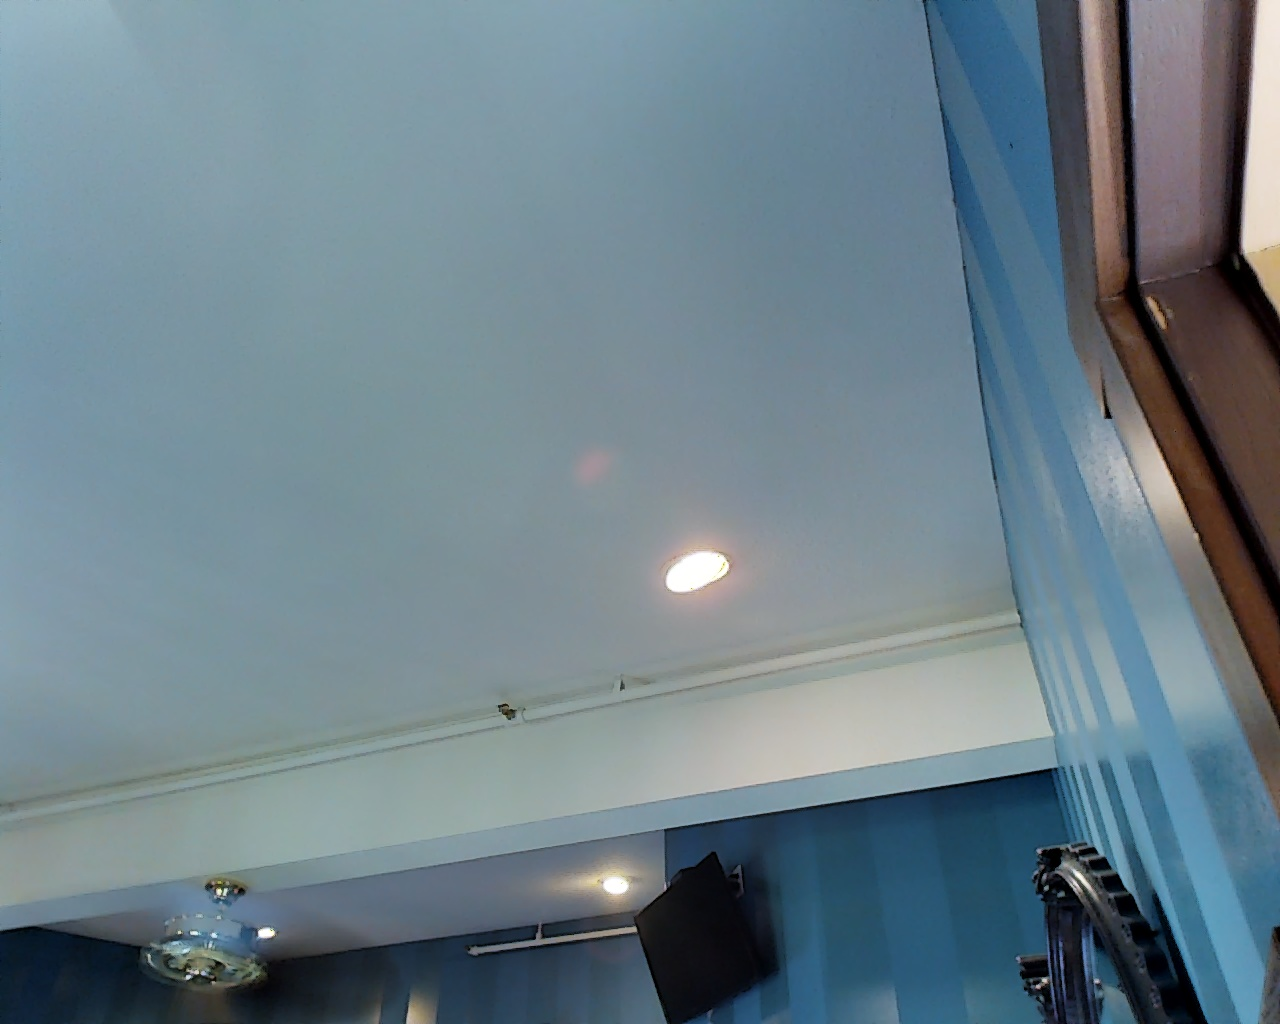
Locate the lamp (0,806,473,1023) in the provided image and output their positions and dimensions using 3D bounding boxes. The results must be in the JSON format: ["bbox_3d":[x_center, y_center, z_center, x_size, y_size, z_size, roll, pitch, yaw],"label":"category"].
[{"bbox_3d":[-1.329,1.371,3.440,1.170,0.230,1.100,-14,-43,16],"label":"lamp"}]
